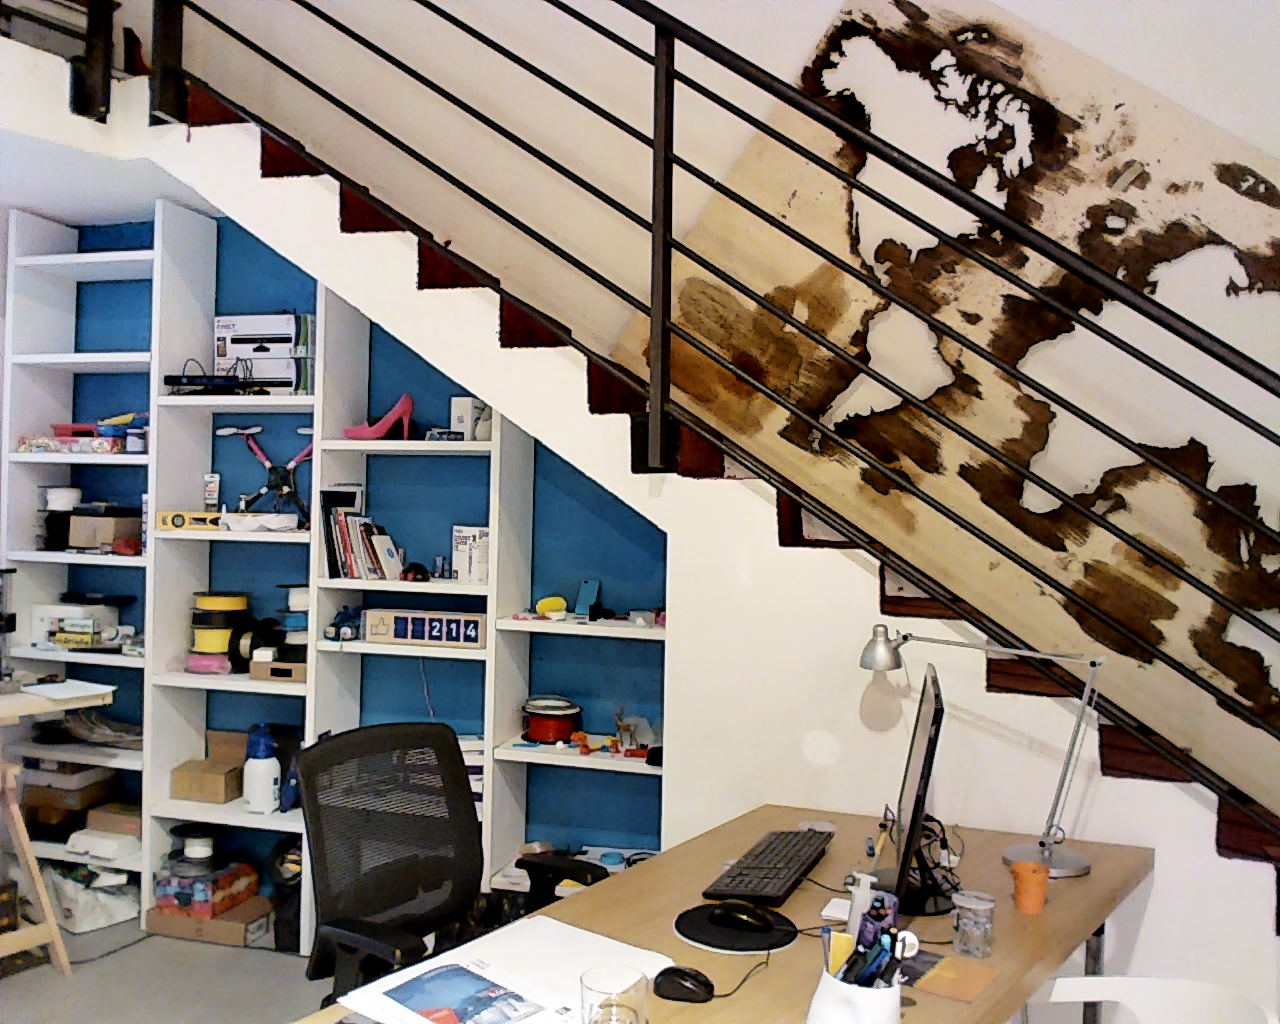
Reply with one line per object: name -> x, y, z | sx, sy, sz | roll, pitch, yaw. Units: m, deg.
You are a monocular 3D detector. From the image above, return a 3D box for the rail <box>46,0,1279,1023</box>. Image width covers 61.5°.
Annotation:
rail -> 0.050, -0.400, 2.770 | 3.299, 3.711, 0.340 | 1, 0, 13
